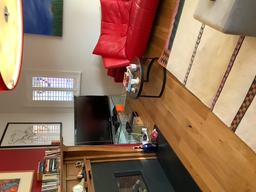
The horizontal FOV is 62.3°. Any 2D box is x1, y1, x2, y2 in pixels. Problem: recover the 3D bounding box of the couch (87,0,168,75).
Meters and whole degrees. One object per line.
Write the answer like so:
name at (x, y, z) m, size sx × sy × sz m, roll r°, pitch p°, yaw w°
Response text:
couch at (-0.030, -1.670, 3.340) m, size 1.250 × 0.900 × 2.300 m, roll -112°, pitch 29°, yaw -50°
